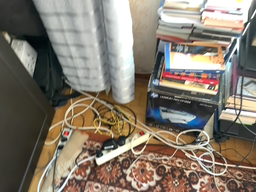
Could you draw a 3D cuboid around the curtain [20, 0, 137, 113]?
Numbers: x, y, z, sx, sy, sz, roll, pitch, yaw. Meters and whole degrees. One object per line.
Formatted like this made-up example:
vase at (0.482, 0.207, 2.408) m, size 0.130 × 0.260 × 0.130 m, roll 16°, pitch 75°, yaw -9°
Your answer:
curtain at (-0.160, -0.330, 0.850) m, size 0.370 × 1.250 × 0.210 m, roll 5°, pitch 58°, yaw 5°
